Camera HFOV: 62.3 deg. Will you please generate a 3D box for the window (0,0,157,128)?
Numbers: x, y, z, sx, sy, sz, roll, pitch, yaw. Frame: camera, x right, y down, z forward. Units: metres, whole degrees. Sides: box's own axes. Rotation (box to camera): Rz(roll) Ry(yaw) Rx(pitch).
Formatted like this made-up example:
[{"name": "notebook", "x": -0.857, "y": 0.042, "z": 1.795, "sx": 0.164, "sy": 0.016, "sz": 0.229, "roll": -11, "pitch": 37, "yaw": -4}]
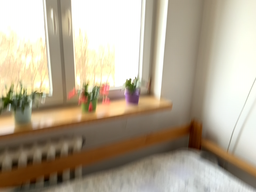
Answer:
[{"name": "window", "x": -0.450, "y": -0.630, "z": 1.370, "sx": 1.500, "sy": 1.580, "sz": 0.150, "roll": -9, "pitch": 20, "yaw": -30}]
